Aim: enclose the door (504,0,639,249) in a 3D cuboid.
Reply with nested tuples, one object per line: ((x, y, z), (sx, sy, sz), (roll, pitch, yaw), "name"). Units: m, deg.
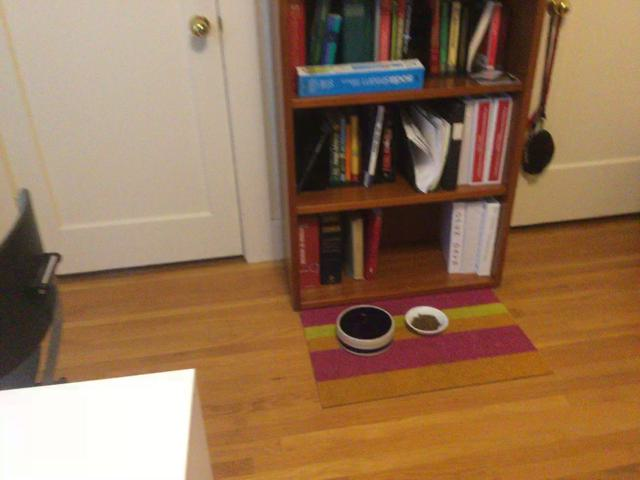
((1.090, -0.900, 1.940), (0.800, 1.990, 0.080), (-9, 31, -6), "door")

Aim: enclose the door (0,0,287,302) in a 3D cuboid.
((-0.640, -0.720, 1.660), (0.870, 1.980, 0.090), (-9, 31, -6), "door")

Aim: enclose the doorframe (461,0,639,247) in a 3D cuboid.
((1.080, -0.980, 1.900), (1.180, 2.100, 0.060), (-9, 31, -7), "doorframe")
